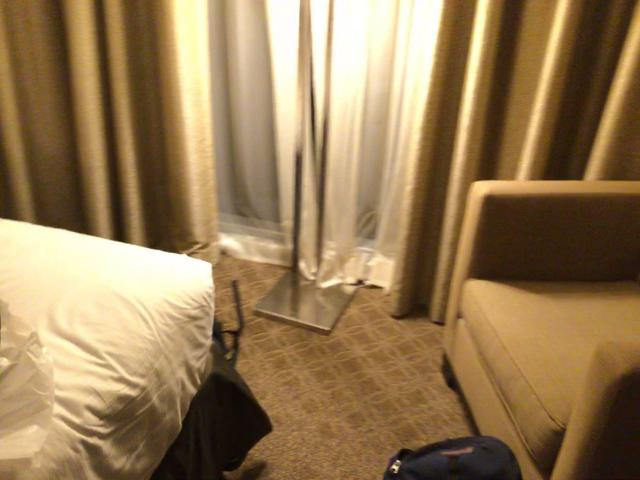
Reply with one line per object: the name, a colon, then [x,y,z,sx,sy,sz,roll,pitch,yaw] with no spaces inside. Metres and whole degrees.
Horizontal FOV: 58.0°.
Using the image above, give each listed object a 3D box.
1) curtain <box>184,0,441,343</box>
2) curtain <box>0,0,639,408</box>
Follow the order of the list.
curtain: [-0.030,-0.410,2.120,0.800,1.460,0.340,9,24,15]
curtain: [-0.210,-0.620,1.930,3.530,1.810,0.510,9,24,15]
